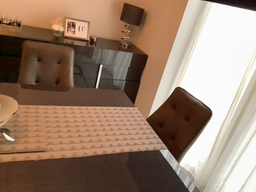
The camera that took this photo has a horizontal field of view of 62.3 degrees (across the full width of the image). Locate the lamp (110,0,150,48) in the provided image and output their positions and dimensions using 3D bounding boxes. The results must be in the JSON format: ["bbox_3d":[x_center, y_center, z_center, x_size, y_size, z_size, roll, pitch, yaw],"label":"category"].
[{"bbox_3d":[0.010,-0.920,2.680,0.280,0.490,0.340,4,28,-25],"label":"lamp"}]

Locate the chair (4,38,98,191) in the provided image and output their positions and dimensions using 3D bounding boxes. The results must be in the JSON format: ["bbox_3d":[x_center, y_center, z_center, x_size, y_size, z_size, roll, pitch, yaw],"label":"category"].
[{"bbox_3d":[-0.600,0.160,1.530,0.460,0.940,0.560,3,28,-26],"label":"chair"}]
